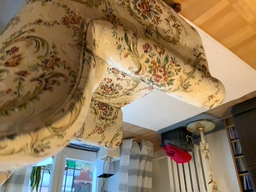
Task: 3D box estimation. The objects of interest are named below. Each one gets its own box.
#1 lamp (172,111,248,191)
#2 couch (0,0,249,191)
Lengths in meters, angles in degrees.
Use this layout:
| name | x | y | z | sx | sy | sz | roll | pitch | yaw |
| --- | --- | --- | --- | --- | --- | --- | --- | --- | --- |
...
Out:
| name | x | y | z | sx | sy | sz | roll | pitch | yaw |
| --- | --- | --- | --- | --- | --- | --- | --- | --- | --- |
| lamp | 0.790 | 0.920 | 1.930 | 0.490 | 1.460 | 0.370 | 18 | 146 | -29 |
| couch | -0.190 | -0.070 | 0.860 | 0.810 | 0.880 | 0.730 | 21 | 145 | -32 |
